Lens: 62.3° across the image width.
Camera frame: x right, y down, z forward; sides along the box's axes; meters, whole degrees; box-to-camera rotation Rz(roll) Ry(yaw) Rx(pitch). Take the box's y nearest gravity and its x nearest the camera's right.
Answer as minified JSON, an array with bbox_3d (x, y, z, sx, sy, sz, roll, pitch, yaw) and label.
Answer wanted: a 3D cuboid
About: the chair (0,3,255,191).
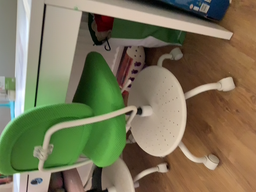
[{"bbox_3d":[-0.080,0.090,0.900,0.610,0.820,0.580,57,135,42],"label":"chair"}]
